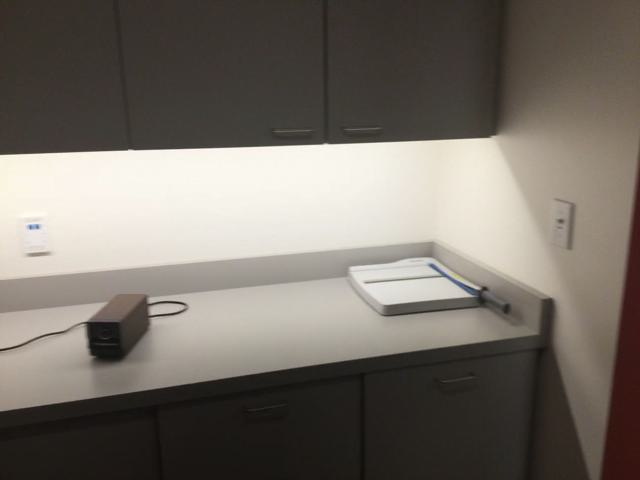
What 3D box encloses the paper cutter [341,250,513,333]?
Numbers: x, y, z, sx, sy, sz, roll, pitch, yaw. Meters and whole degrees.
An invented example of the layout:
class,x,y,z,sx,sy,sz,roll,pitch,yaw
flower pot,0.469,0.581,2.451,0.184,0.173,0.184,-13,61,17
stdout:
class,x,y,z,sx,sy,sz,roll,pitch,yaw
paper cutter,0.300,0.140,1.770,0.340,0.060,0.480,-6,15,-15
